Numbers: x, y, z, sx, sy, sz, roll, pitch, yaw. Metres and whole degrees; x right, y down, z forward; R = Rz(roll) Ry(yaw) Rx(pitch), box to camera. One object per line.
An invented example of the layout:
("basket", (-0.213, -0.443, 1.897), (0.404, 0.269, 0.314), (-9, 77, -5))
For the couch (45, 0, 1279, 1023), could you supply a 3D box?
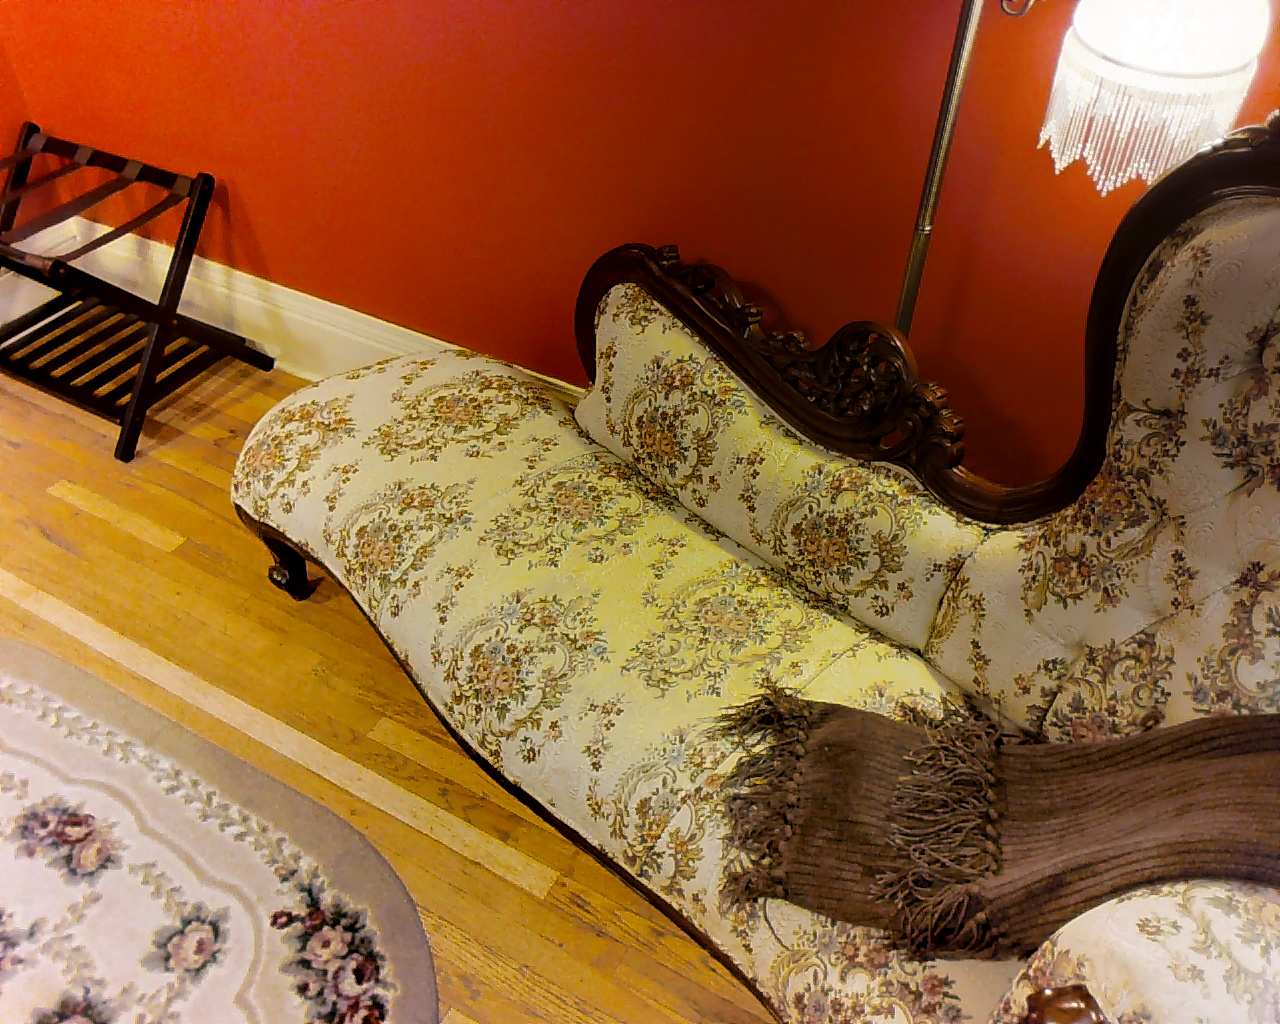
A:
("couch", (0.070, -0.050, 1.510), (0.770, 1.260, 1.840), (-31, 52, -30))
